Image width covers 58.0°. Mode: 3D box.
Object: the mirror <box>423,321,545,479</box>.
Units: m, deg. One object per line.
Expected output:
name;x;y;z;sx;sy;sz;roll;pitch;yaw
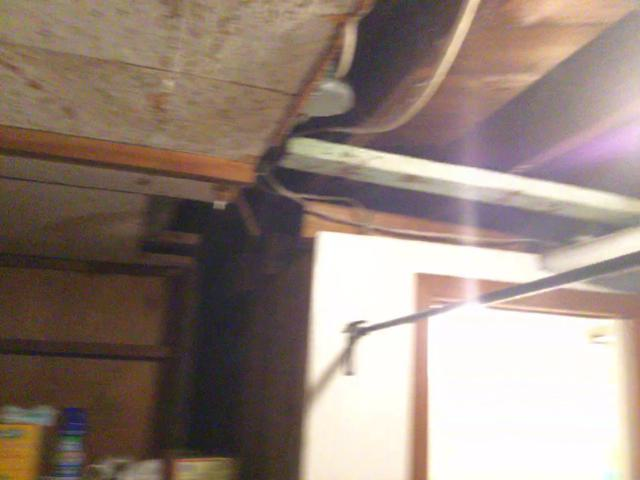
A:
mirror;0.810;0.840;2.880;0.540;0.830;0.160;6;-16;-19
